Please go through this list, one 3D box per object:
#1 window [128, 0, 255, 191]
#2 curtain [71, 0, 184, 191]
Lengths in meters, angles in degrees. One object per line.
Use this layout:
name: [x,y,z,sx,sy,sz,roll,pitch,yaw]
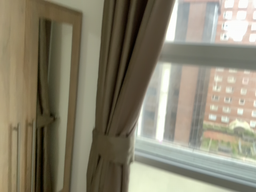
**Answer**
window: [0.610,0.090,1.010,1.200,1.670,0.100,9,12,24]
curtain: [-0.040,0.070,1.050,0.470,1.870,0.140,10,13,25]
